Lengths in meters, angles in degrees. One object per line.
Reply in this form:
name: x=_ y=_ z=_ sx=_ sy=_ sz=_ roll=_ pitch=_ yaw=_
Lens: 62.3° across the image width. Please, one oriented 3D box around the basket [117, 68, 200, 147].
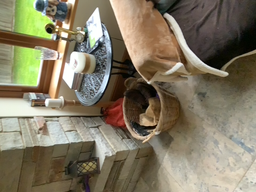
basket: x=0.250 y=0.110 z=1.940 sx=0.490 sy=0.370 sz=0.480 roll=-52 pitch=50 yaw=37
